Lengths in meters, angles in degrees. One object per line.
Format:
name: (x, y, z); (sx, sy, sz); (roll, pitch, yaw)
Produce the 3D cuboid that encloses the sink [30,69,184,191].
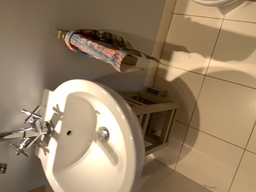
sink: (-0.100, 0.170, 0.810); (0.440, 0.270, 0.430); (21, 103, 33)
